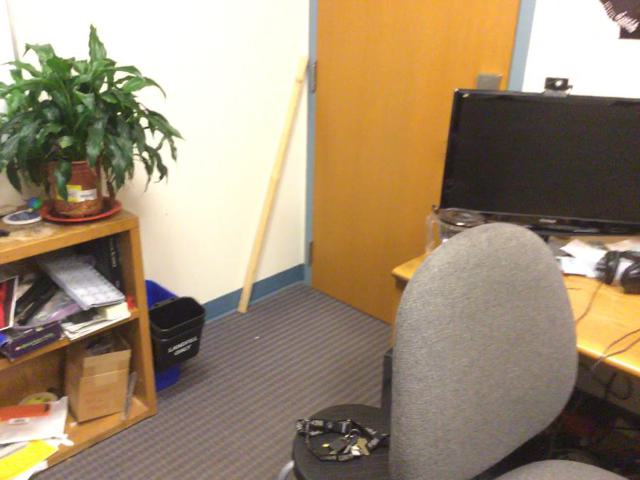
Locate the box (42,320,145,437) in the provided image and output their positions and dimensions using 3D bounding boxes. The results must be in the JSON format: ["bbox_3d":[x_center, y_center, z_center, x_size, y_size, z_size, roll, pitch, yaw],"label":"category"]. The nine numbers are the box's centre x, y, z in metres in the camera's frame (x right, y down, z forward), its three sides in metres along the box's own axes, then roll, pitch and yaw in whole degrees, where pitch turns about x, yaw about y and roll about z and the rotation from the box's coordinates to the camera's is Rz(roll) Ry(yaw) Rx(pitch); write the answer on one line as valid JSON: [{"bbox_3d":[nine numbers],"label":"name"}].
[{"bbox_3d":[-0.750,0.450,1.920,0.260,0.240,0.200,18,26,41],"label":"box"}]
